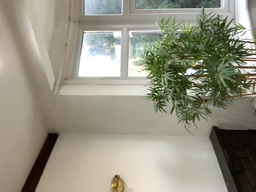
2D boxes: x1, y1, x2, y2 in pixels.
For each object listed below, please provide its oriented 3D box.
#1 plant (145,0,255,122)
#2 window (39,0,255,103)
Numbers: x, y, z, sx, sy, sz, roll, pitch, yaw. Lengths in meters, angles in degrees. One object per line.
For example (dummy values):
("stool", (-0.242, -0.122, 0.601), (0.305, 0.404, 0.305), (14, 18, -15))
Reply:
("plant", (0.940, -0.210, 1.340), (0.530, 1.650, 0.650), (82, -171, -72))
("window", (0.200, -0.690, 1.880), (0.130, 1.770, 1.490), (80, -169, -75))
